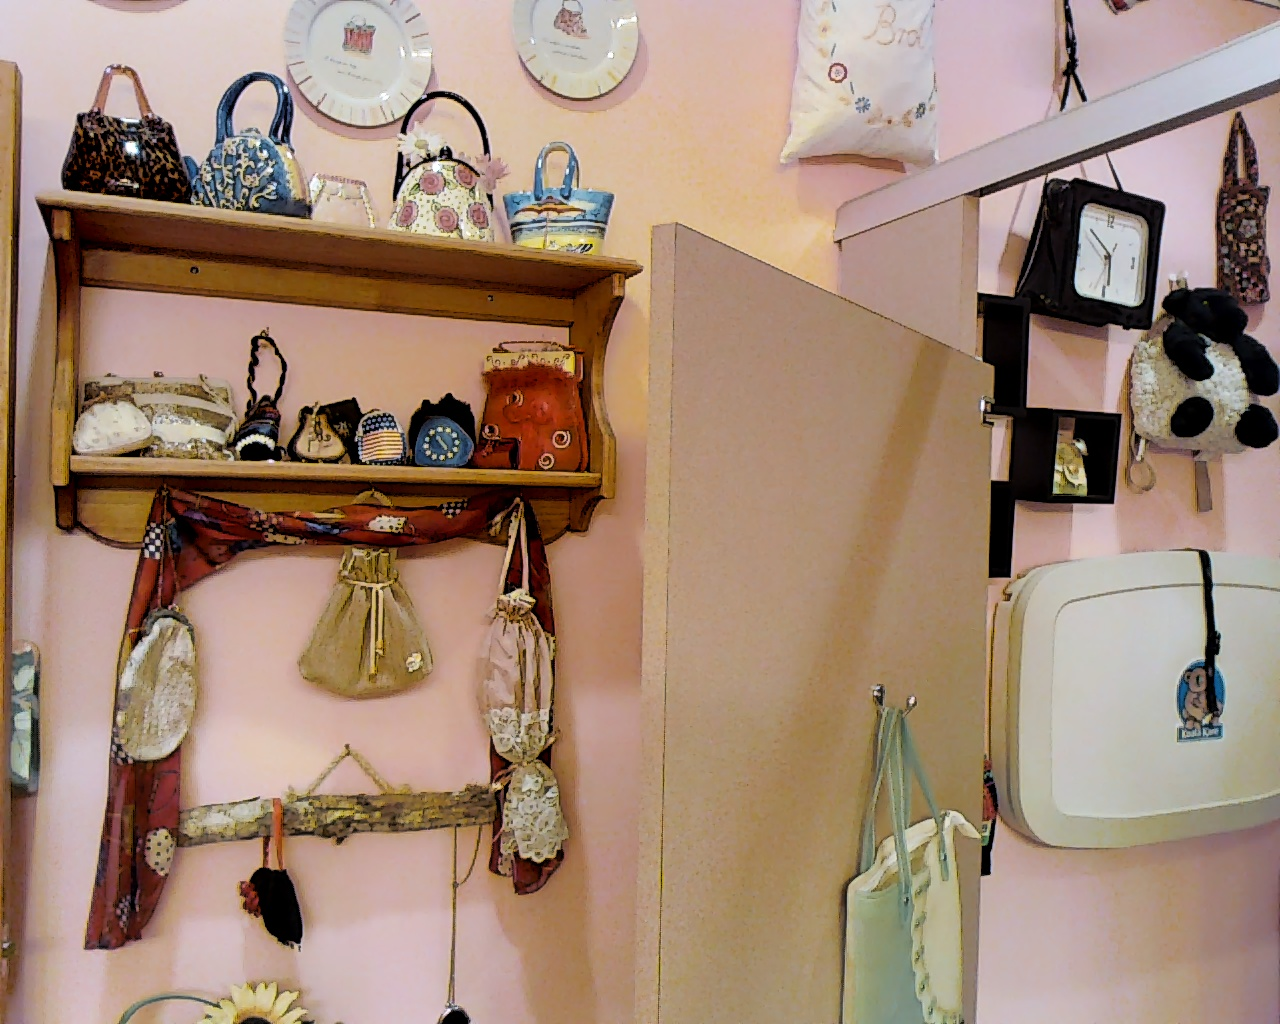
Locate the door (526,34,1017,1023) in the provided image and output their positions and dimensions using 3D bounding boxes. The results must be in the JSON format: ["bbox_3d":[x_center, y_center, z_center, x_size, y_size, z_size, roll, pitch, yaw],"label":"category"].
[{"bbox_3d":[0.210,0.500,1.140,0.100,1.620,0.950,2,0,32],"label":"door"}]
